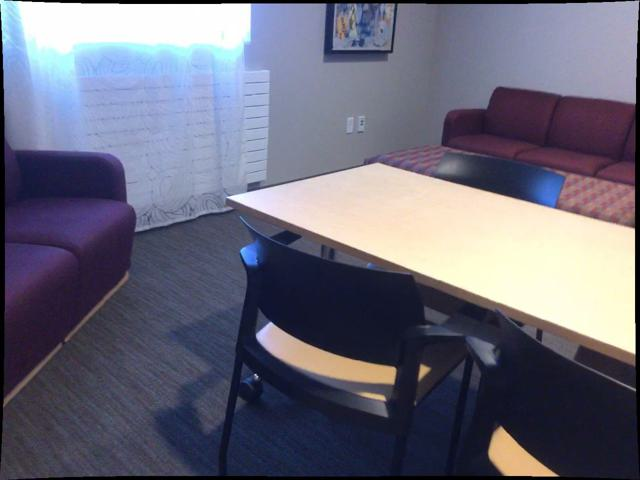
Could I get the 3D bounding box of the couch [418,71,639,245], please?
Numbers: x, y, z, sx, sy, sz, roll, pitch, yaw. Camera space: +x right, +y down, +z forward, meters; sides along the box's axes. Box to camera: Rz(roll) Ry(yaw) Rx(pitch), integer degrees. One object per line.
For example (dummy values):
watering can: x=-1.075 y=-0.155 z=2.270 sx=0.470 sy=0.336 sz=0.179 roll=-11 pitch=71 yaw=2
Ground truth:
couch: x=1.727 y=-0.631 z=4.010 sx=1.869 sy=0.791 sz=0.770 roll=22 pitch=30 yaw=37

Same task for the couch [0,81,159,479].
couch: x=-1.228 y=0.090 z=1.810 sx=0.859 sy=0.891 sz=1.720 roll=4 pitch=23 yaw=2
